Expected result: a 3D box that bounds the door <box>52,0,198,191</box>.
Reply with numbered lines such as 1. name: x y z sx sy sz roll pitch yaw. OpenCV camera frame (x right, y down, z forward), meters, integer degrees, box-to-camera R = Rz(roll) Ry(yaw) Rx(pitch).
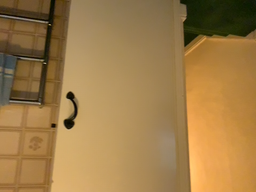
1. door: 0.070 0.360 1.170 0.940 2.180 0.020 11 162 -35
